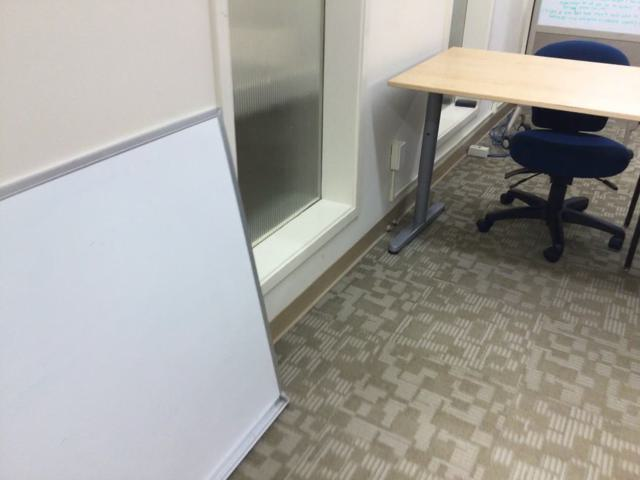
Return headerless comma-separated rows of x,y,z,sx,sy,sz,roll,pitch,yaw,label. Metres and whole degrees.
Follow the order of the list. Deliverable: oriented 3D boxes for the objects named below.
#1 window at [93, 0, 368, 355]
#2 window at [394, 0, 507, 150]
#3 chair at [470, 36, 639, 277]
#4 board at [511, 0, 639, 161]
-0.170,-0.520,1.690,0.230,1.430,0.910,15,33,28,window
0.700,-1.270,2.920,0.260,1.380,0.900,15,33,28,window
1.030,-0.380,2.450,0.560,0.810,0.530,15,33,28,chair
1.620,-1.200,3.280,0.790,1.350,0.380,14,33,28,board
